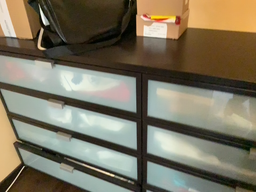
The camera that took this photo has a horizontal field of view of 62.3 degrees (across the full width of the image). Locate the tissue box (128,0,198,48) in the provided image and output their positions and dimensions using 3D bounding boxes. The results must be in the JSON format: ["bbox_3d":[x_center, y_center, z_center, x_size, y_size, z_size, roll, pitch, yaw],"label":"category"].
[{"bbox_3d":[0.160,-0.370,0.920,0.230,0.220,0.250,13,35,22],"label":"tissue box"}]

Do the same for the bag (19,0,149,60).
[{"bbox_3d":[-0.140,-0.380,0.900,0.310,0.250,0.480,13,35,22],"label":"bag"}]
